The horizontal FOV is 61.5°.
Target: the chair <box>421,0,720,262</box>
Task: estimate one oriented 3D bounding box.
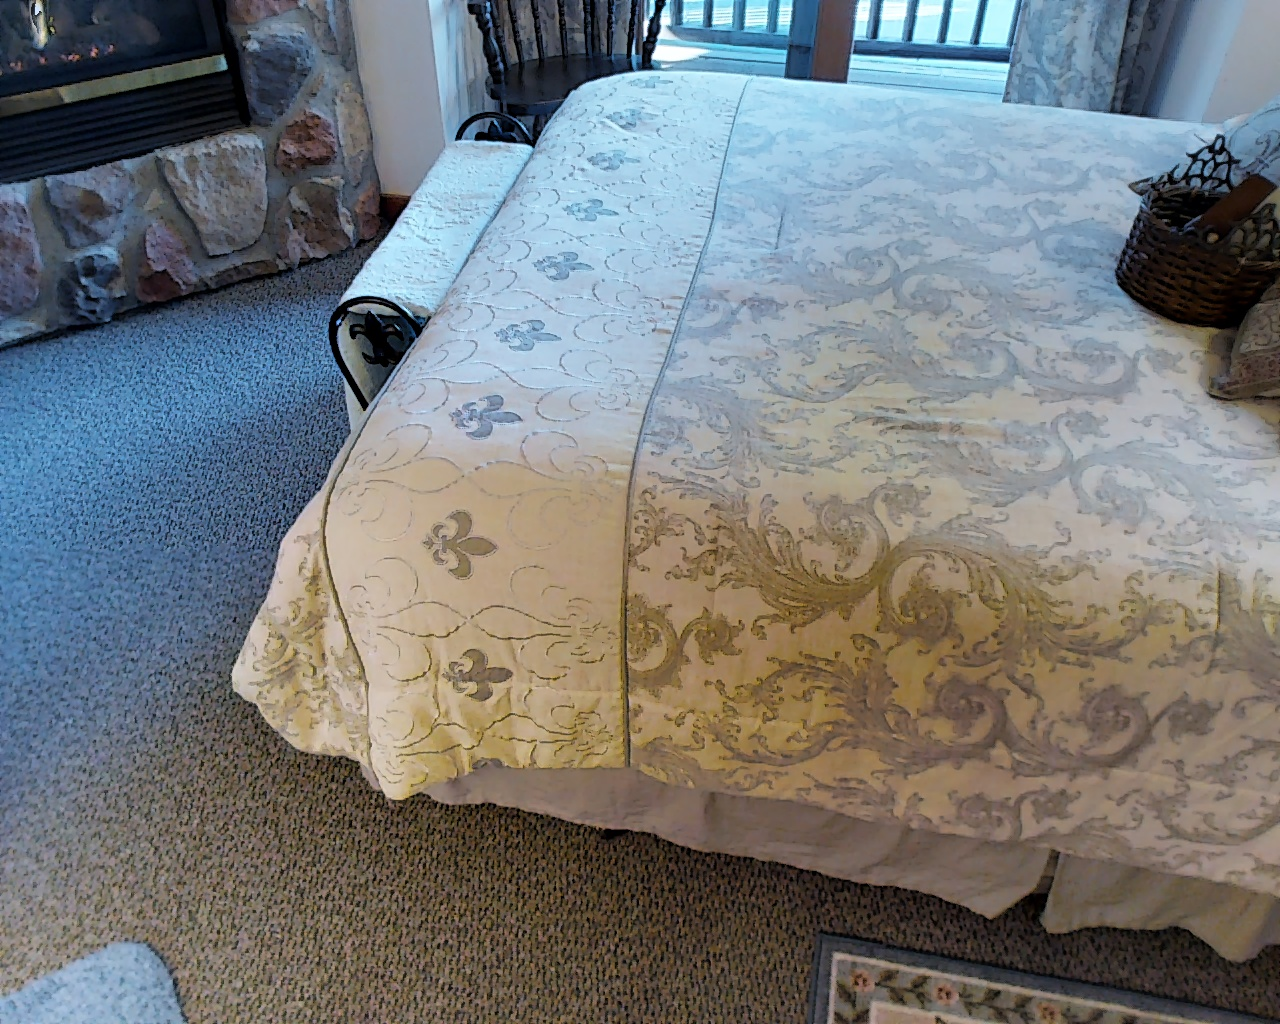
[{"bbox_3d":[-0.210,-1.340,3.090,0.660,0.940,0.580,-18,45,-19],"label":"chair"}]

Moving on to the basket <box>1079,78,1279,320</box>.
[{"bbox_3d":[0.920,-0.480,1.650,0.370,0.240,0.290,6,42,6],"label":"basket"}]
